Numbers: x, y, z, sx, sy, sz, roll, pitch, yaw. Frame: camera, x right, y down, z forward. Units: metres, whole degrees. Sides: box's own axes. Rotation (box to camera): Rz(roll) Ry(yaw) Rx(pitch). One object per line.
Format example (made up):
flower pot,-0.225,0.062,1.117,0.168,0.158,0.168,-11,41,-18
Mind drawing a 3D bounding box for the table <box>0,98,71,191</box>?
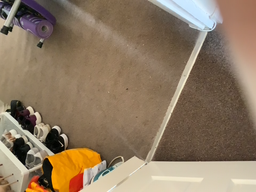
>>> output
table,-0.970,0.360,1.700,0.990,0.410,0.230,29,110,27
